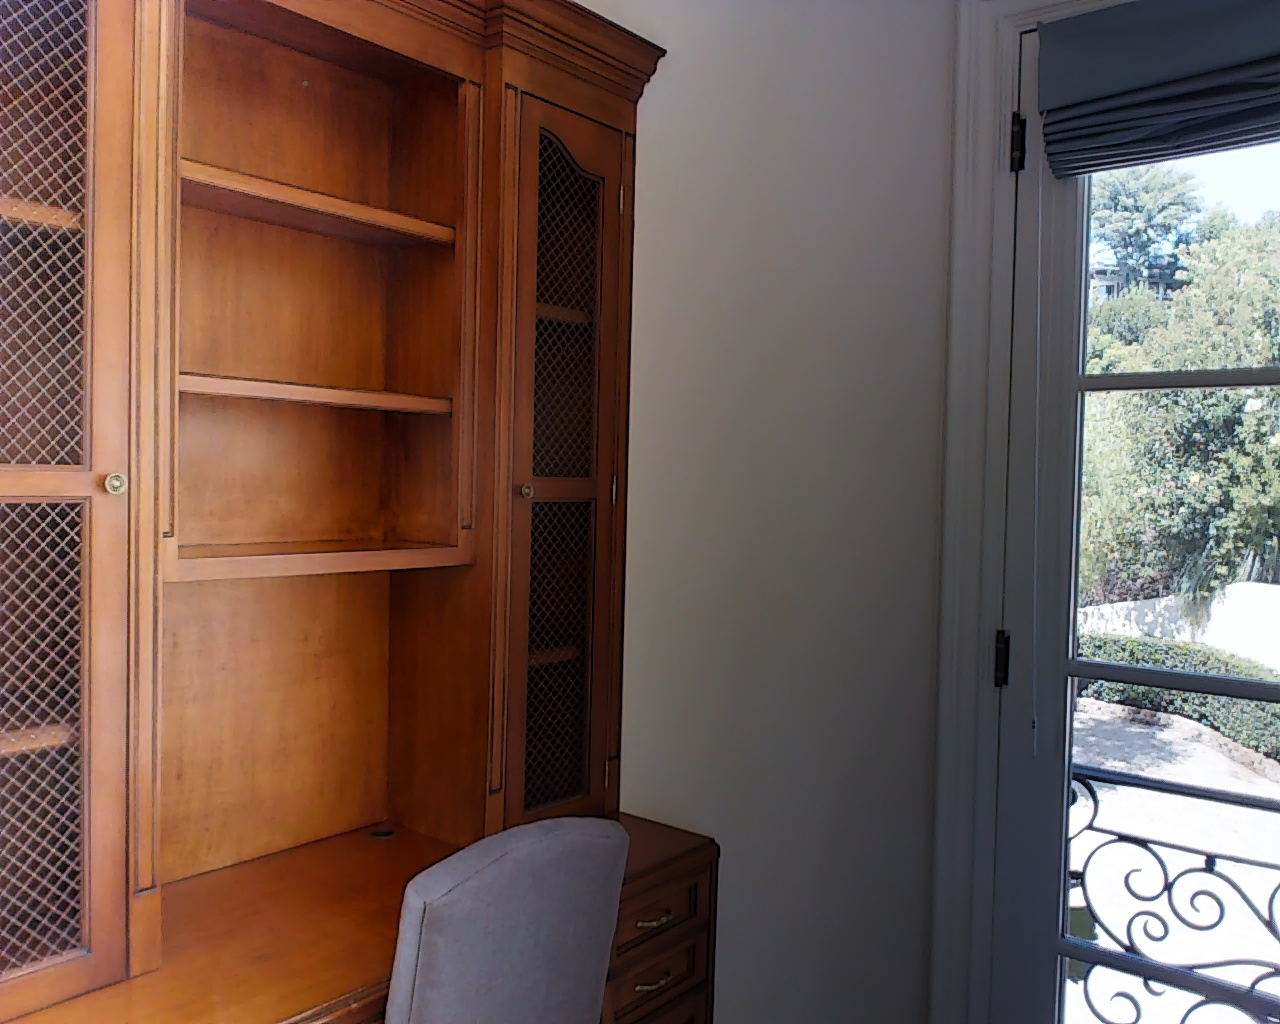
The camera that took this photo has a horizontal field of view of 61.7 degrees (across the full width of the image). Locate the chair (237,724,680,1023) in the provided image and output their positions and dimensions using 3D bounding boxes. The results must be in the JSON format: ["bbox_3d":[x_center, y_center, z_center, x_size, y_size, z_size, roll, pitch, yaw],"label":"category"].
[{"bbox_3d":[-0.320,0.970,1.900,0.540,1.020,0.540,3,2,39],"label":"chair"}]

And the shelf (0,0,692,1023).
[{"bbox_3d":[-0.600,-0.230,2.030,0.590,1.860,1.580,3,2,35],"label":"shelf"}]
